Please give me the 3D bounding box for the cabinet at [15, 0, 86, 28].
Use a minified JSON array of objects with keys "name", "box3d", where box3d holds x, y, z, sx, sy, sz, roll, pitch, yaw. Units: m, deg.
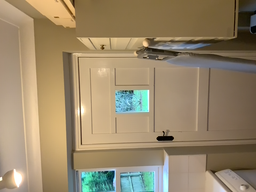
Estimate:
[{"name":"cabinet","box3d":[-0.400,-0.500,1.200,0.730,0.230,0.090,-121,30,-82]}]
